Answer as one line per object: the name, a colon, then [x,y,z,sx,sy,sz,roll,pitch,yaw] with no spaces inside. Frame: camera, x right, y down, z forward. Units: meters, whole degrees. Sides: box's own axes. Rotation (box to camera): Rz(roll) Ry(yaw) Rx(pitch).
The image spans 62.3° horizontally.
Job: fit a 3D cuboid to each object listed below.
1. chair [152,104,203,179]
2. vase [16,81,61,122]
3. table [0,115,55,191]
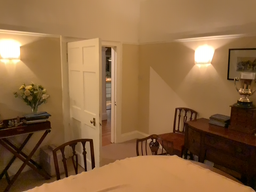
chair: [0.790,0.690,3.450,0.550,0.970,0.540,-7,12,-41]
vase: [-1.310,0.060,3.130,0.530,0.510,0.250,-7,12,-39]
table: [-1.470,0.760,2.890,0.750,0.820,0.490,-7,12,-40]
